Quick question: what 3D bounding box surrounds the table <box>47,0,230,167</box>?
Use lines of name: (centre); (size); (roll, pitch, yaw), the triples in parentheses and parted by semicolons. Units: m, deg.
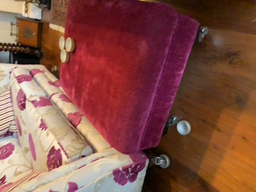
table: (-0.060, -0.180, 1.070); (0.800, 0.420, 0.580); (33, 120, 46)

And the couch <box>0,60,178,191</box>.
couch: (-0.780, 0.430, 1.690); (2.030, 0.900, 1.020); (29, 117, 47)
